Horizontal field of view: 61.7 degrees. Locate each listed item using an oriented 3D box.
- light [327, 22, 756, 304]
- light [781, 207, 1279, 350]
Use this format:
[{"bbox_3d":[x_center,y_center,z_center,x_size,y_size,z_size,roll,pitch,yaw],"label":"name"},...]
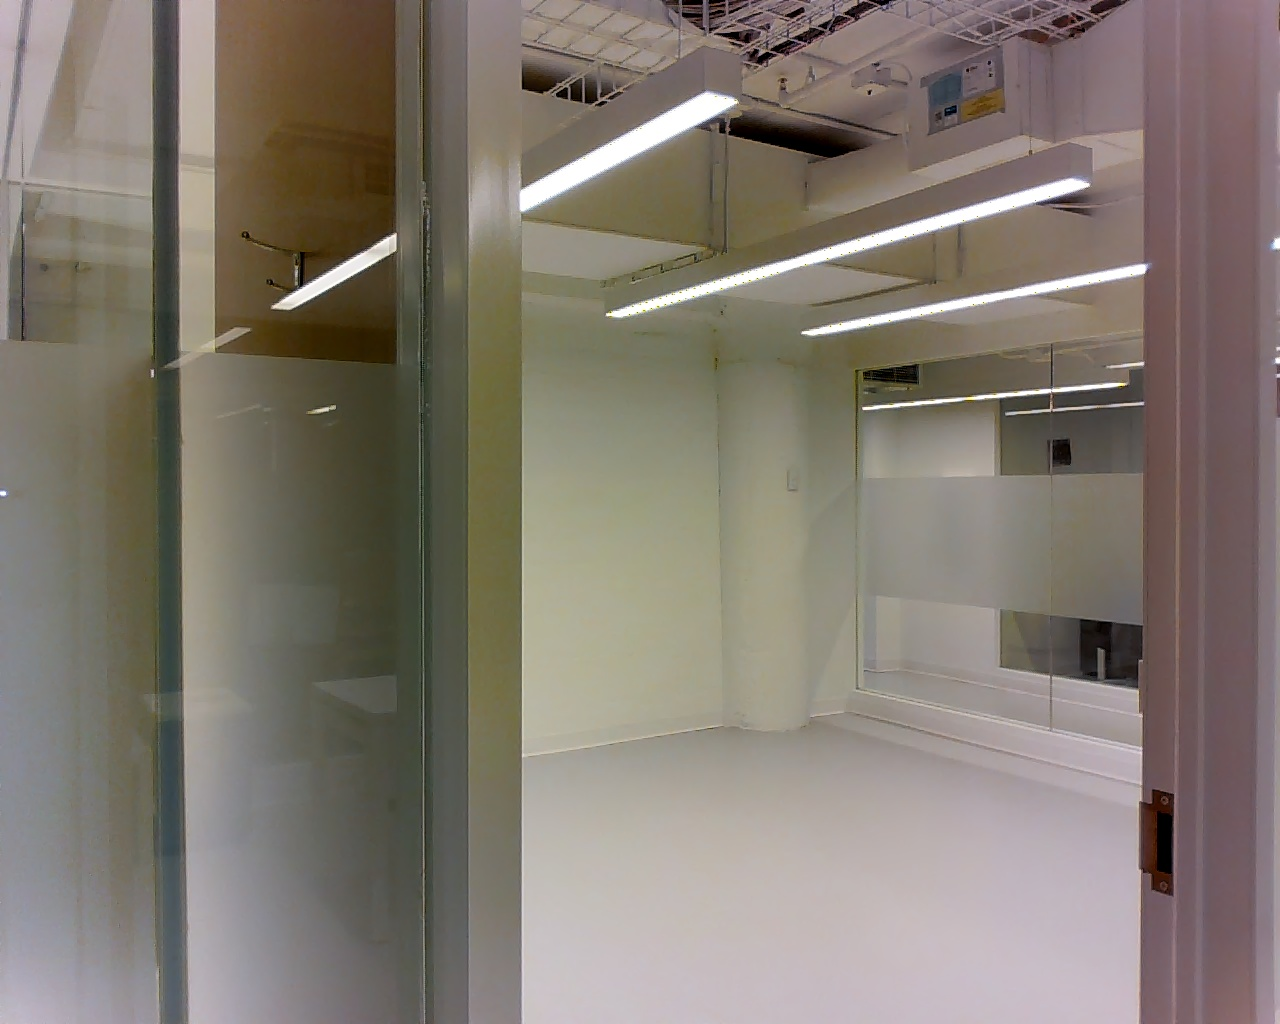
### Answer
[{"bbox_3d":[-0.500,-0.930,3.300,0.200,0.180,2.470,-1,1,-33],"label":"light"},{"bbox_3d":[1.500,-0.930,4.590,0.190,0.160,2.520,-1,1,-33],"label":"light"}]
